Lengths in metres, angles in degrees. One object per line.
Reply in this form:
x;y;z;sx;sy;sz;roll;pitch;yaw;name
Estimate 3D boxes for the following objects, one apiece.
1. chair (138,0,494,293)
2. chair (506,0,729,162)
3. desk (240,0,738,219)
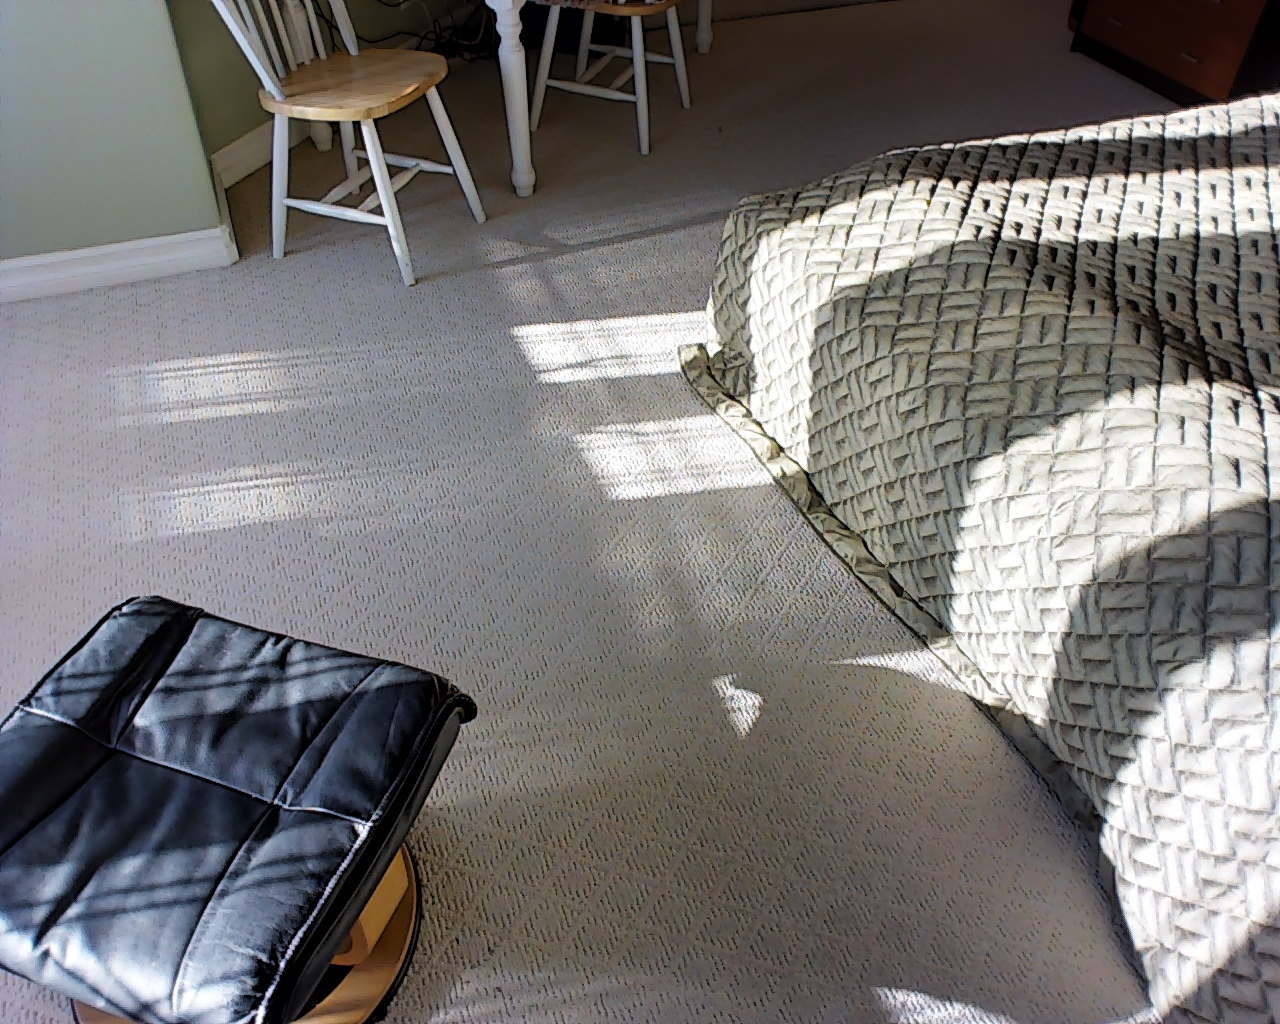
-0.800;-1.120;2.720;0.610;0.850;0.510;17;44;17;chair
-0.060;-1.650;3.290;0.550;0.890;0.470;17;44;17;chair
-0.390;-1.710;3.510;0.970;0.700;1.540;17;44;17;desk
